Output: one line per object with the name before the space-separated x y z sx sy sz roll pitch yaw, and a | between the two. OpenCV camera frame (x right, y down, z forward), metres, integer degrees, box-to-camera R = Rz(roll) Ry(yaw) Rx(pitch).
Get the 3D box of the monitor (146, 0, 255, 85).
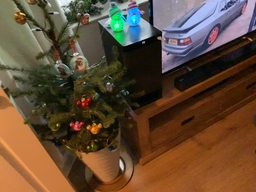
monitor | 0.570 -0.520 1.220 1.070 0.610 0.030 -26 45 -17
